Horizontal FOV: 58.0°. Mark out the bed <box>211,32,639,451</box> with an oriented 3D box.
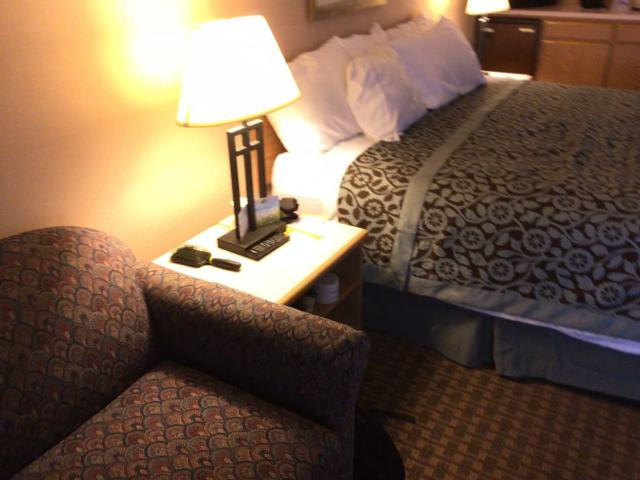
[{"bbox_3d":[1.060,-0.260,2.570,2.130,1.010,1.990,9,28,29],"label":"bed"}]
